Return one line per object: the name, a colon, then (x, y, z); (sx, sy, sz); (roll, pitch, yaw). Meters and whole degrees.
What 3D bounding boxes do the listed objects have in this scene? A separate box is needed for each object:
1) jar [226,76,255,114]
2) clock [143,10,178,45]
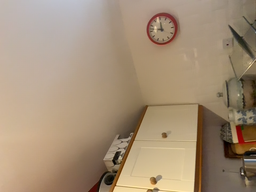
jar: (1.030, -0.010, 1.910); (0.250, 0.250, 0.230); (-59, -40, -55)
clock: (0.310, -0.630, 1.980); (0.040, 0.280, 0.270); (-60, -39, -54)
